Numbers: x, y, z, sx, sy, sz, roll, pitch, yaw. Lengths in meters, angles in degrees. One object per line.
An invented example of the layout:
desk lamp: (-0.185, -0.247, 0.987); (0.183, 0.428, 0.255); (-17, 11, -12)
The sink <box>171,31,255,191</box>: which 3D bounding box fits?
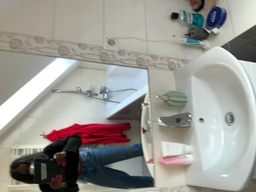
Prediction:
sink: (0.430, 0.100, 0.980); (0.440, 0.200, 0.600); (145, 126, -63)
